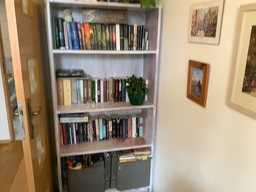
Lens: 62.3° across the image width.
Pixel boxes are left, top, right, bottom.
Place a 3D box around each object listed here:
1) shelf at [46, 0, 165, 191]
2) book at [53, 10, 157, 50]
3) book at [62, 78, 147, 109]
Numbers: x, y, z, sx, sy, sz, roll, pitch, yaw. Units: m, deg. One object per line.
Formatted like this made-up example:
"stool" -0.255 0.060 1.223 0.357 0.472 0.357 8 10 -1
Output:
"shelf" -0.200 0.130 1.910 0.860 1.760 0.340 -3 16 -15
"book" -0.180 -0.540 1.790 0.820 0.280 0.190 -2 16 -13
"book" -0.200 -0.030 1.920 0.740 0.230 0.110 -3 16 -15
